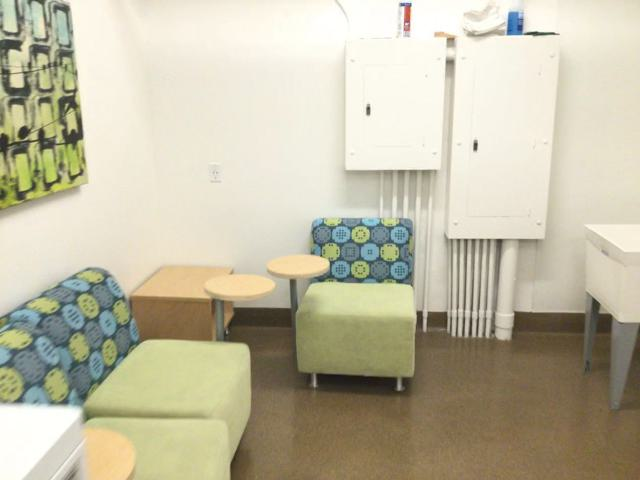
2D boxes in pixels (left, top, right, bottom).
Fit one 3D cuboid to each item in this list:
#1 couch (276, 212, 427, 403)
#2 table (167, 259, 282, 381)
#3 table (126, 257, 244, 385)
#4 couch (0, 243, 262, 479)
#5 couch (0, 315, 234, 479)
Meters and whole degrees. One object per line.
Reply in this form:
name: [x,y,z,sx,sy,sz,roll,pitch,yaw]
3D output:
couch: [0.220,0.310,3.150,0.700,0.780,0.790,1,15,11]
table: [-0.410,0.350,2.610,0.420,0.440,0.350,-1,14,4]
table: [-0.750,0.450,3.360,0.480,0.550,0.580,-1,14,4]
couch: [-0.710,0.530,2.310,0.810,0.880,0.670,-1,14,4]
couch: [-0.690,0.700,1.670,0.730,0.770,0.640,-1,14,4]
